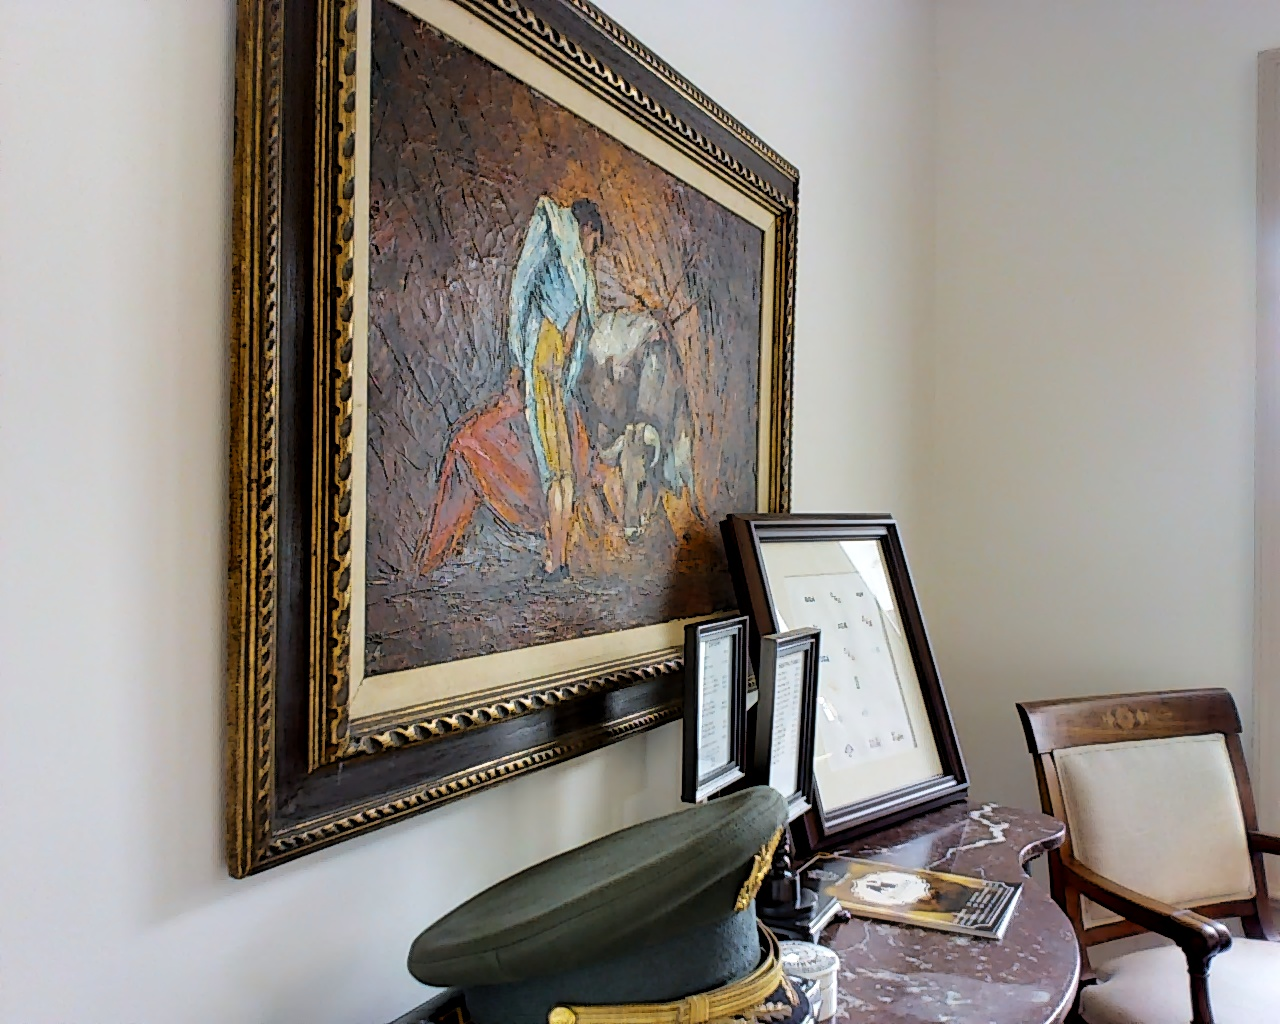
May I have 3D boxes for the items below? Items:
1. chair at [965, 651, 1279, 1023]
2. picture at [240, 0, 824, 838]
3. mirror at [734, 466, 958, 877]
[{"bbox_3d":[1.000,0.730,1.710,0.650,0.900,0.660,0,1,-22],"label":"chair"},{"bbox_3d":[0.000,-0.150,1.130,0.060,0.710,0.990,1,1,29],"label":"picture"},{"bbox_3d":[0.280,0.190,1.380,0.070,0.420,0.340,8,23,45],"label":"mirror"}]
